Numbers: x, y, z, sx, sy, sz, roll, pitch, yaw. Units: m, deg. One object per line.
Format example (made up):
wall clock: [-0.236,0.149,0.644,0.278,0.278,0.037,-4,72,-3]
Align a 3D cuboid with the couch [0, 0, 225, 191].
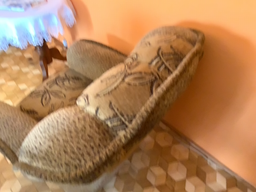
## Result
couch: [-0.230,0.070,1.140,0.950,0.900,0.820,27,52,23]
